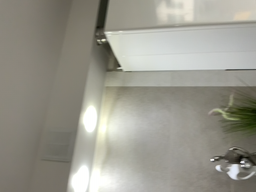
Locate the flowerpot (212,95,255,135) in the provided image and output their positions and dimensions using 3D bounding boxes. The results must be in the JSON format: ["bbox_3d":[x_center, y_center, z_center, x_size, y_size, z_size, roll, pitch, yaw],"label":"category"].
[{"bbox_3d":[0.700,0.110,1.190,0.130,0.410,0.200,51,-138,-70],"label":"flowerpot"}]
